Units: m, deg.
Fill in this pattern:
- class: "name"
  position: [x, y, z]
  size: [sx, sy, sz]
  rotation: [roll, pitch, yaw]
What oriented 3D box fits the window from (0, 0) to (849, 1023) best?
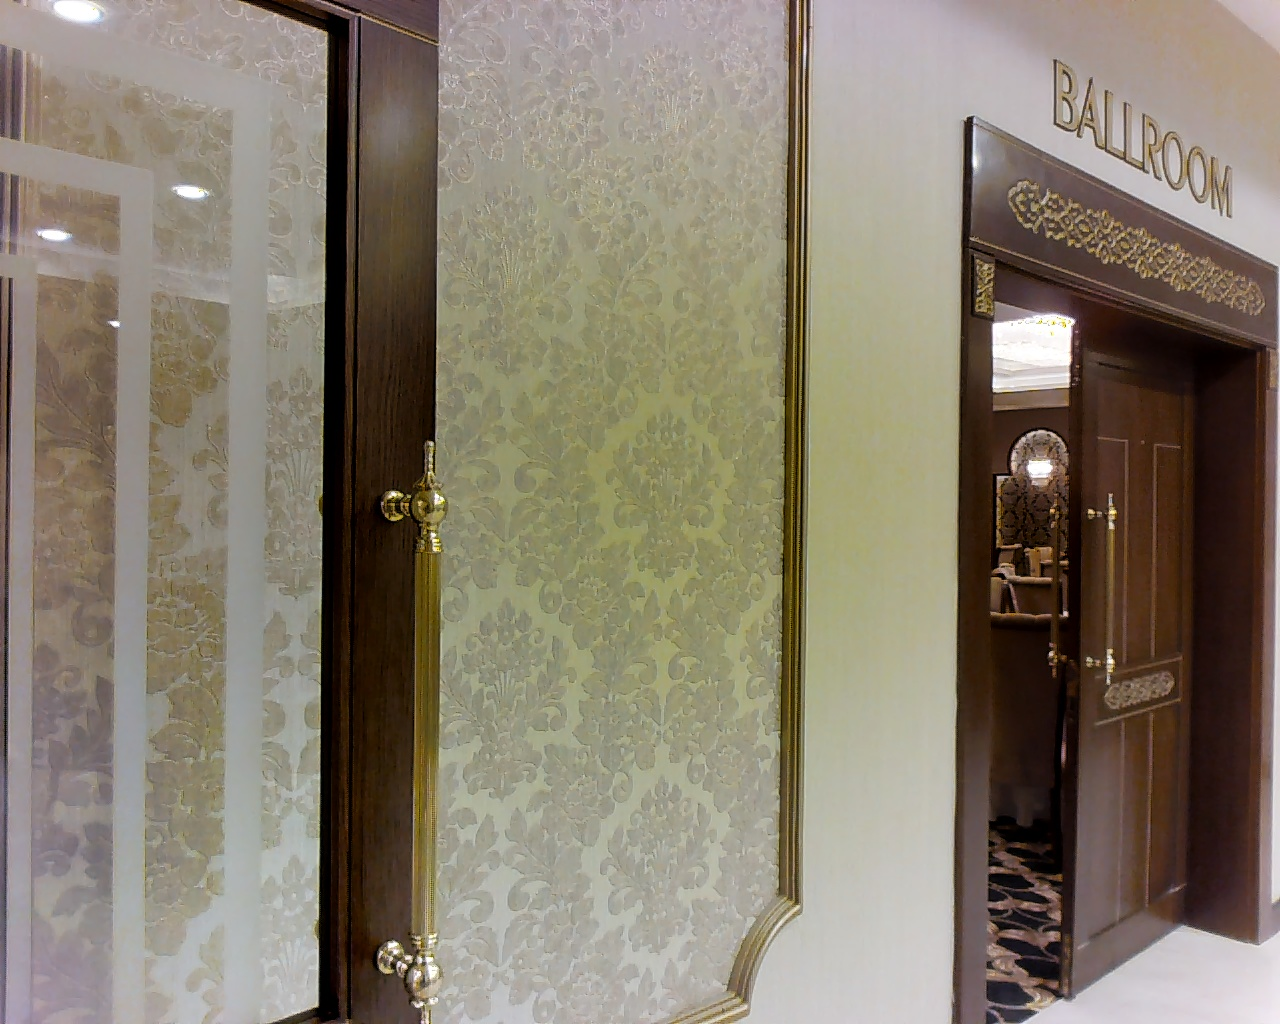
- class: "window"
  position: [-0.150, -0.110, 1.640]
  size: [1.420, 2.141, 0.060]
  rotation: [1, 0, -42]
